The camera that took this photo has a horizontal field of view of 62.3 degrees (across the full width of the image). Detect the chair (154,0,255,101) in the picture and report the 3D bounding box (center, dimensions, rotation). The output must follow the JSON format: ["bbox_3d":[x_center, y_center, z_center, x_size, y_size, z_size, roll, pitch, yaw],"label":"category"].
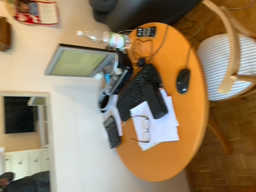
[{"bbox_3d":[0.570,-0.160,1.150,0.420,0.750,0.360,-6,84,57],"label":"chair"}]
